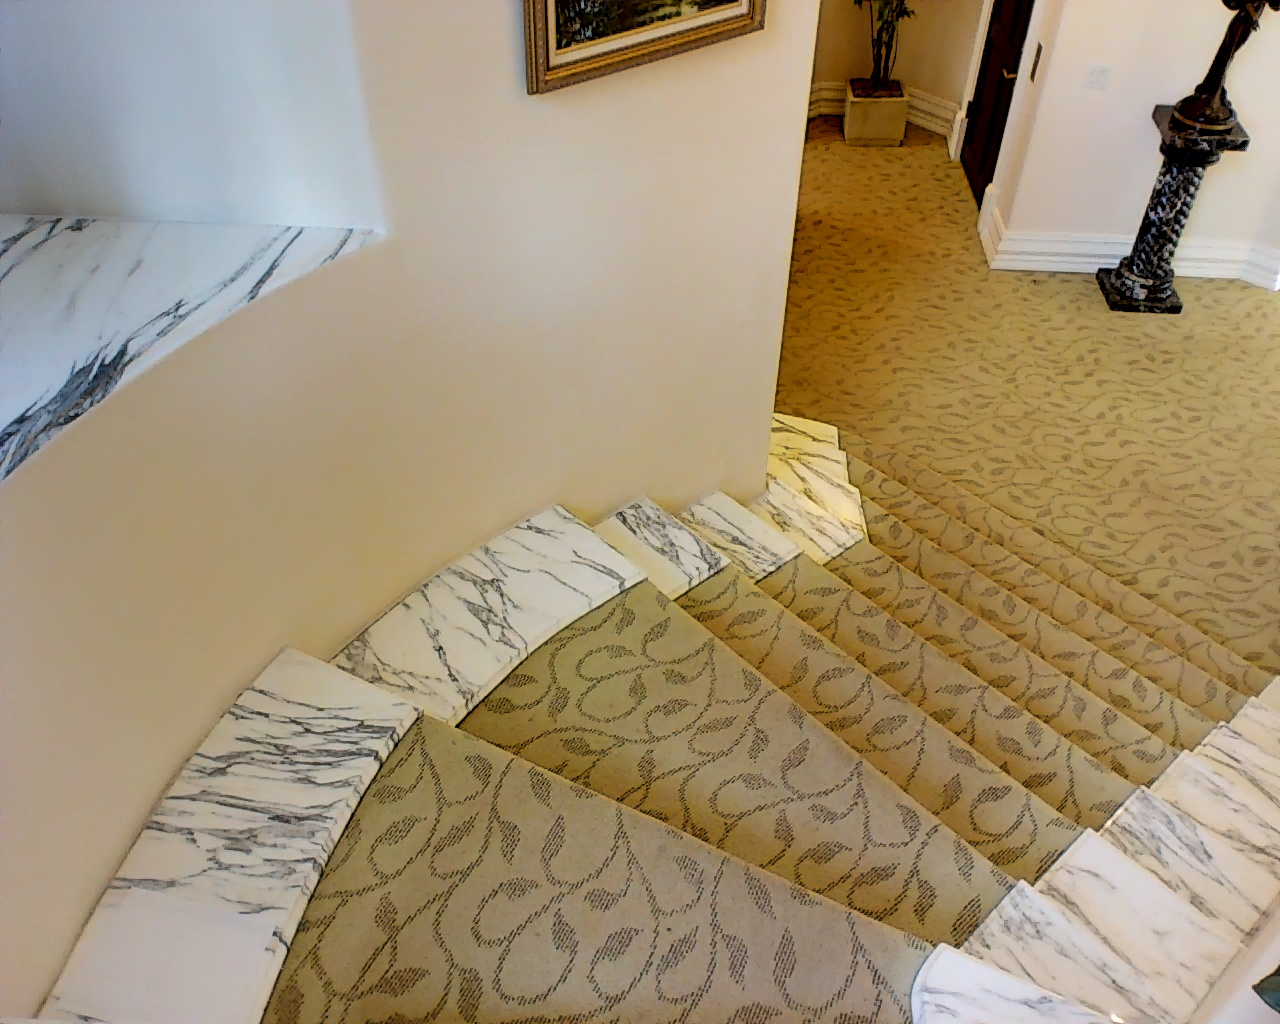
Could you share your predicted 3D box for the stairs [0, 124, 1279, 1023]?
[{"bbox_3d":[0.710,0.560,2.690,2.530,1.320,3.730,19,45,20],"label":"stairs"}]
